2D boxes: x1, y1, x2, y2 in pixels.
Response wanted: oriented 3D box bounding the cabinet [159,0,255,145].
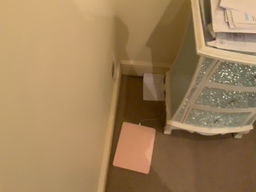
[{"bbox_3d":[0.470,-0.110,1.130,0.480,0.820,0.470,6,61,3],"label":"cabinet"}]
